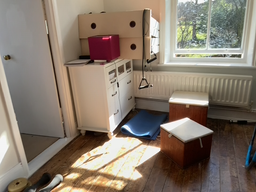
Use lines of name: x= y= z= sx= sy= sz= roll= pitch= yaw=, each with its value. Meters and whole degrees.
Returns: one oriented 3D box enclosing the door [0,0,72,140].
door: x=-1.150 y=-0.360 z=2.370 sx=0.820 sy=1.770 sz=0.160 roll=3 pitch=21 yaw=15
